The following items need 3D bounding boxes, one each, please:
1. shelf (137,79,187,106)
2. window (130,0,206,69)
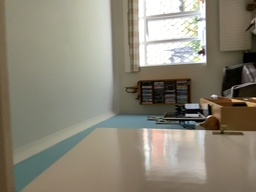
[{"bbox_3d":[0.670,-0.070,4.190,0.150,0.950,0.510,-23,-69,-76],"label":"shelf"},{"bbox_3d":[0.810,-1.420,4.380,0.370,1.450,1.610,-6,-86,-77],"label":"window"}]
